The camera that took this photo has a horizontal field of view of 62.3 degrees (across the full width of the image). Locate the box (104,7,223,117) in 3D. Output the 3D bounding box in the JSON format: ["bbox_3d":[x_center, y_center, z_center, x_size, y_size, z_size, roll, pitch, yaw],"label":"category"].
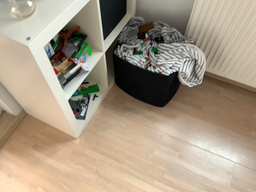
[{"bbox_3d":[0.200,-0.210,1.370,0.590,0.430,0.340,21,60,11],"label":"box"}]
